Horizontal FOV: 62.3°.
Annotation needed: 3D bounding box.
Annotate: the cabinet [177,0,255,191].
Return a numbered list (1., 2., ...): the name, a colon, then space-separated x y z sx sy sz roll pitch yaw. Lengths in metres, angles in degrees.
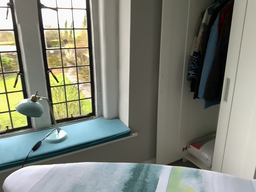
1. cabinet: 1.000 -0.070 1.900 0.530 1.900 0.870 -10 21 -27
